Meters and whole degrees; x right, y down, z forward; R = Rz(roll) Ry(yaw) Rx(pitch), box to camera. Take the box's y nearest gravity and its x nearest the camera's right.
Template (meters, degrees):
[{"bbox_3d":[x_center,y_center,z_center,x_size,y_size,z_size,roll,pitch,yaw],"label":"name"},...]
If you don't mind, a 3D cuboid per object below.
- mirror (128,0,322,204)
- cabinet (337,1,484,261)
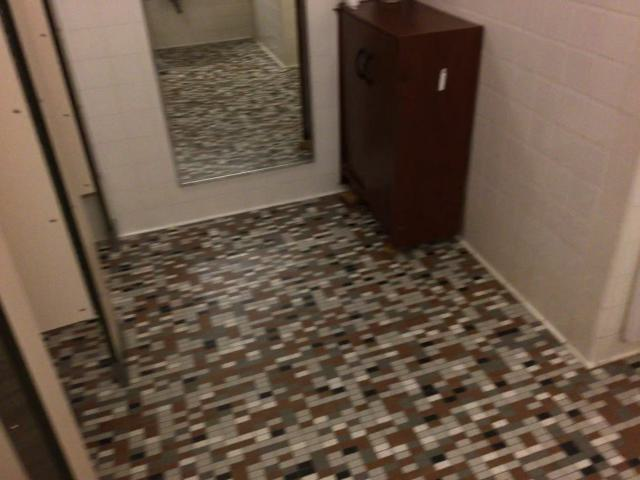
[{"bbox_3d":[-0.360,-0.700,2.310,0.670,1.050,0.140,-12,32,-13],"label":"mirror"},{"bbox_3d":[0.320,-0.450,2.300,0.290,0.830,0.620,-12,32,-13],"label":"cabinet"}]
